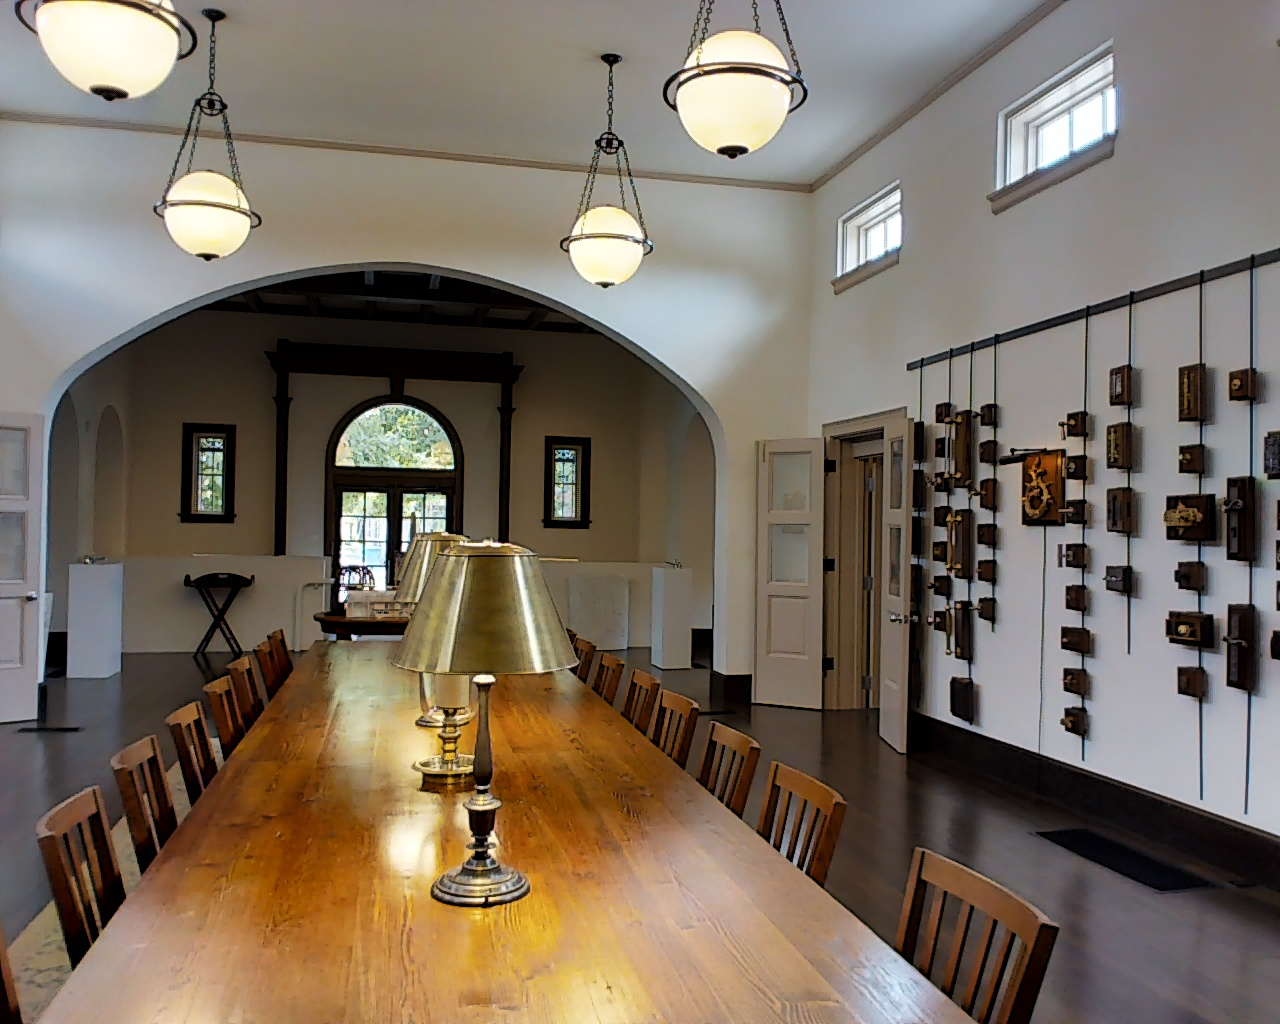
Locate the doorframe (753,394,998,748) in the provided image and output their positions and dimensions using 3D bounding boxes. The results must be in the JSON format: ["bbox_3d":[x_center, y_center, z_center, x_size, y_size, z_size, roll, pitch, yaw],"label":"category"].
[{"bbox_3d":[1.730,0.410,8.400,0.950,2.370,2.290,1,-1,-13],"label":"doorframe"}]

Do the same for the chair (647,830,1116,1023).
[{"bbox_3d":[0.390,1.080,1.930,0.650,0.830,0.540,1,-1,-13],"label":"chair"}]
